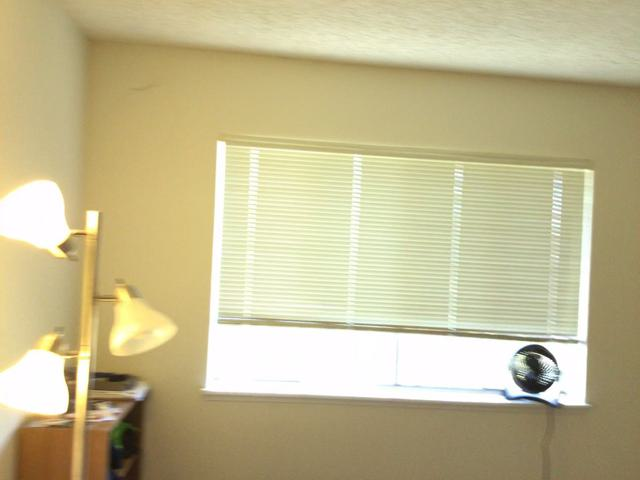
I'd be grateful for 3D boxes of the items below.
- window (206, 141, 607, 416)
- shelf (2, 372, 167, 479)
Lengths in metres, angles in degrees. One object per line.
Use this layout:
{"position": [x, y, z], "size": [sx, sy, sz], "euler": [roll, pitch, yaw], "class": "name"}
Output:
{"position": [0.400, 0.170, 2.680], "size": [1.810, 1.230, 0.110], "euler": [0, -3, -2], "class": "window"}
{"position": [-0.870, 1.050, 2.240], "size": [0.380, 0.950, 0.690], "euler": [0, -3, -2], "class": "shelf"}
